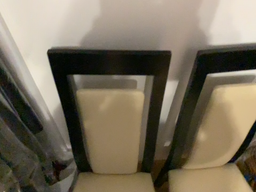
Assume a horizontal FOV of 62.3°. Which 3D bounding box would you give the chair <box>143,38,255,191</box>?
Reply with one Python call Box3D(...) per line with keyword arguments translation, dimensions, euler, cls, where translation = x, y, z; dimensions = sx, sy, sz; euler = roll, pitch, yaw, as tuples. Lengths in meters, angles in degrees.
Box3D(translation=(0.380, 0.380, 0.870), dimensions=(0.460, 1.060, 0.580), euler=(-2, 53, -5), cls="chair")
